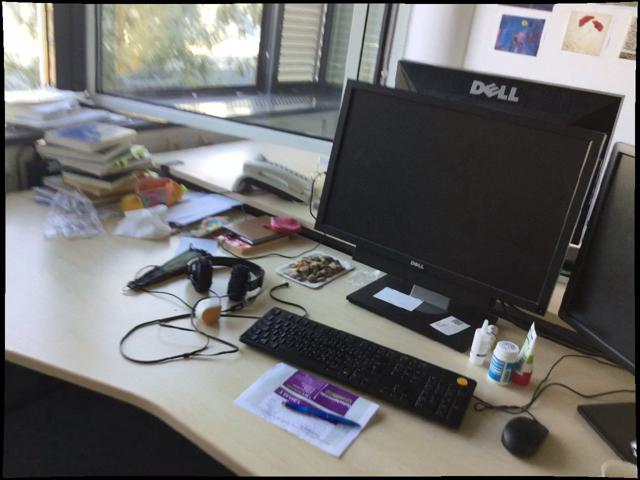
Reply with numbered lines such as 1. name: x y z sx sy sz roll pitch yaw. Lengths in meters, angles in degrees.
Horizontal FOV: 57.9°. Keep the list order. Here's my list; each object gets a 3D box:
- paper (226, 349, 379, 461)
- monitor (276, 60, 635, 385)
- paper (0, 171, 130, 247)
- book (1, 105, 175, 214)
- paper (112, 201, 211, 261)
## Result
1. paper: -0.030 0.280 1.020 0.210 0.020 0.170 23 29 31
2. monitor: 0.230 -0.070 1.270 0.680 0.510 0.130 22 28 29
3. paper: -0.759 -0.100 1.650 0.430 0.040 0.200 23 29 31
4. book: -0.719 -0.270 1.820 0.360 0.200 0.360 23 28 31
5. paper: -0.430 -0.030 1.570 0.200 0.060 0.170 23 29 31
